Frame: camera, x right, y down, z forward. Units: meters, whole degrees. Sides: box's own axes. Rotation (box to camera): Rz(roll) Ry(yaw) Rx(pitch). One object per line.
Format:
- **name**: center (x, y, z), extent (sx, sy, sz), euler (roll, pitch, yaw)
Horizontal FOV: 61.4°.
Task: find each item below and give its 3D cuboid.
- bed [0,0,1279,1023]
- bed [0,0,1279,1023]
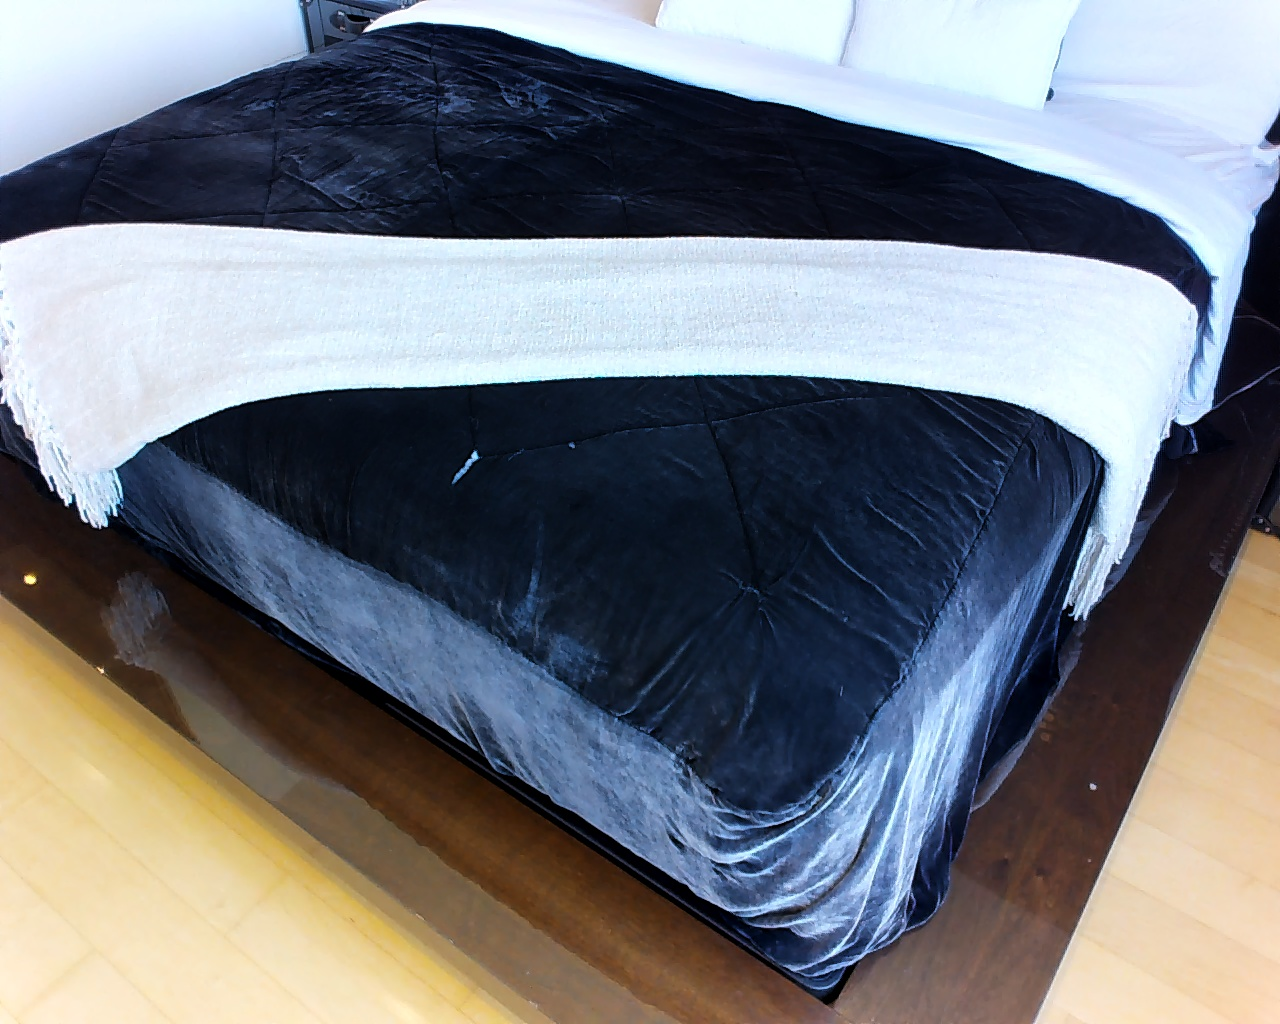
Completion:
- **bed**: center (0.010, -0.540, 2.210), extent (2.220, 0.630, 2.170), euler (26, 47, 24)
- **bed**: center (0.040, -0.560, 2.080), extent (2.550, 1.280, 2.440), euler (26, 47, 24)
